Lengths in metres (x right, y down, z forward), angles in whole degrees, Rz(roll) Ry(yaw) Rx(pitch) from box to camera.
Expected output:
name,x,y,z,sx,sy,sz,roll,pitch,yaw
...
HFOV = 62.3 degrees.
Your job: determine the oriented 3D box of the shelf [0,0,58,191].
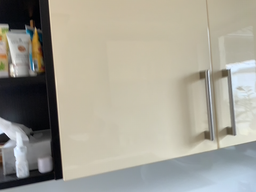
name,x,y,z,sx,sy,sz,roll,pitch,yaw
shelf,-0.350,-0.150,0.600,0.220,0.730,0.290,-5,1,-21
